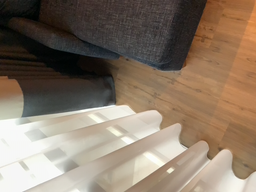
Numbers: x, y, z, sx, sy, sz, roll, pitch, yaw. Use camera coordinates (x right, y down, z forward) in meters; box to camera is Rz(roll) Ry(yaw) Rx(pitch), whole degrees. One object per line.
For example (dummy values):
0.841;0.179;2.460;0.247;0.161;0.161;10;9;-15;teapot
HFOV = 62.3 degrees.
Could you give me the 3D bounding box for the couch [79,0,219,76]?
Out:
0.180;-0.610;1.150;0.490;0.510;0.880;27;110;32;couch
